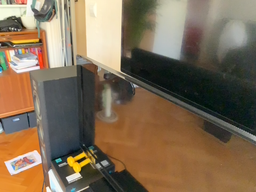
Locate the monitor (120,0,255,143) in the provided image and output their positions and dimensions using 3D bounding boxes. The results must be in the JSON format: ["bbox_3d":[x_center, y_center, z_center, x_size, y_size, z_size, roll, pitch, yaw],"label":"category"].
[{"bbox_3d":[0.190,-0.180,0.850,0.040,0.430,0.710,-14,30,-34],"label":"monitor"}]
